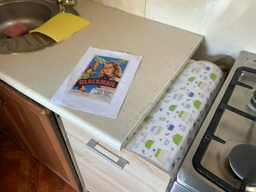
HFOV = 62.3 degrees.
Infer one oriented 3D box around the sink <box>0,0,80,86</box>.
[{"bbox_3d":[-0.560,-0.320,1.040,0.430,0.170,0.450,25,50,21],"label":"sink"}]
